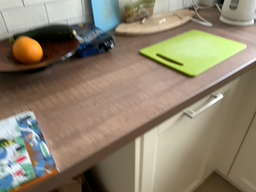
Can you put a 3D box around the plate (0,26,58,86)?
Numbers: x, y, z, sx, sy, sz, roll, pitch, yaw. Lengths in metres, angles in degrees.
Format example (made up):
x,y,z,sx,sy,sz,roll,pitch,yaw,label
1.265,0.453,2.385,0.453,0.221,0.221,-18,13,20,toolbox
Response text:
x,y,z,sx,sy,sz,roll,pitch,yaw,label
-0.360,-0.140,0.680,0.180,0.070,0.230,-23,42,-28,plate
